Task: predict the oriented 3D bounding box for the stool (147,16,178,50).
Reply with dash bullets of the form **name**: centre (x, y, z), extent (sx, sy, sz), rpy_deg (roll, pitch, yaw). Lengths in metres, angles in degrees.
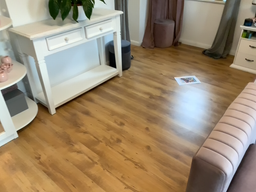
- **stool**: centre (0.630, -1.180, 3.930), extent (0.390, 0.460, 0.390), rpy_deg (26, 42, 33)
